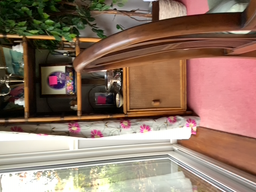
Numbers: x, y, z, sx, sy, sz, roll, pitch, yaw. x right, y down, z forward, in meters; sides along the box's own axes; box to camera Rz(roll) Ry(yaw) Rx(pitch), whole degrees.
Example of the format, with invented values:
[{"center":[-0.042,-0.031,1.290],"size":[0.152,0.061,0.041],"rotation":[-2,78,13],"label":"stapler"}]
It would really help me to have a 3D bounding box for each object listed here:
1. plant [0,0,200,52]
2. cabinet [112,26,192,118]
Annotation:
[{"center":[-0.290,-0.770,1.780],"size":[0.560,1.670,0.620],"rotation":[-175,85,-75],"label":"plant"},{"center":[0.200,-0.190,1.990],"size":[0.470,0.600,0.740],"rotation":[175,94,-75],"label":"cabinet"}]
